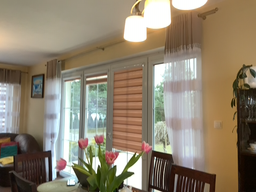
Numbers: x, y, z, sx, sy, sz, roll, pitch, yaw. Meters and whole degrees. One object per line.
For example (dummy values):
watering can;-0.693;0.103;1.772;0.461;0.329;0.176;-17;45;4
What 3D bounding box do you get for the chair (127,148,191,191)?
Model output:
chair;0.350;1.160;2.390;0.490;1.000;0.530;-2;-5;44
